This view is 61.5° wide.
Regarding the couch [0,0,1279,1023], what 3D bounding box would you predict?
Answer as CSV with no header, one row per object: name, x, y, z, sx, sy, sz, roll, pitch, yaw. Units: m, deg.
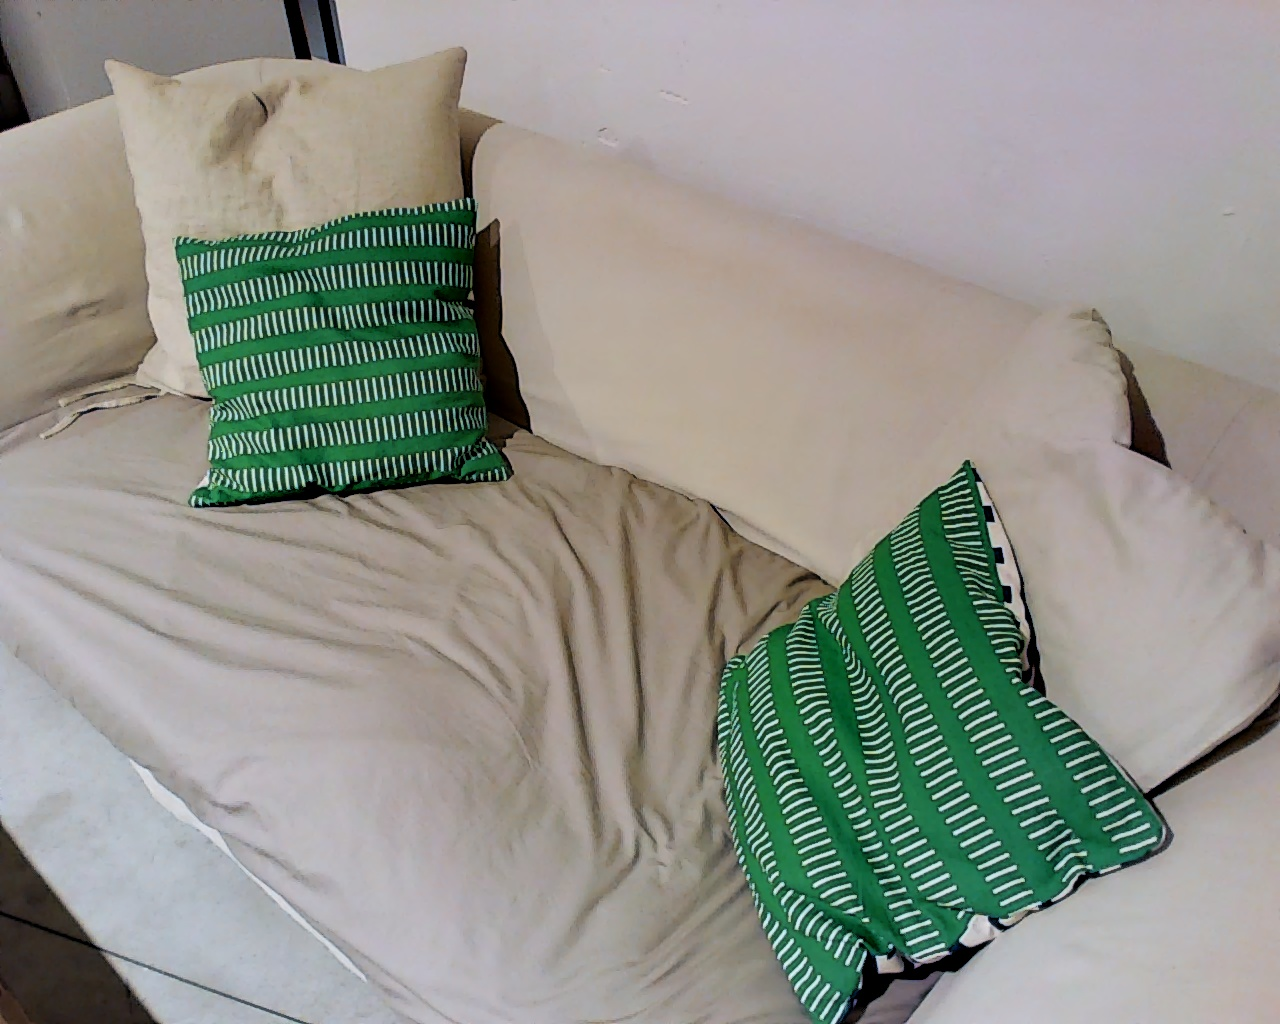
couch,-0.160,0.030,1.560,2.270,0.770,1.220,30,50,28
